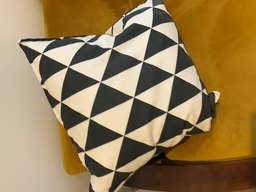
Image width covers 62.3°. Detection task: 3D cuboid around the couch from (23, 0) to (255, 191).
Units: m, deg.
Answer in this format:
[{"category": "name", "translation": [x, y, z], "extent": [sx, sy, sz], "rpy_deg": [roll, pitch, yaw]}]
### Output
[{"category": "couch", "translation": [0.110, -0.560, 0.910], "extent": [0.890, 0.750, 1.790], "rpy_deg": [-17, 83, 40]}]

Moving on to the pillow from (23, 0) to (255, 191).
[{"category": "pillow", "translation": [-0.020, -0.010, 0.790], "extent": [0.340, 0.550, 0.670], "rpy_deg": [106, 150, -65]}]
